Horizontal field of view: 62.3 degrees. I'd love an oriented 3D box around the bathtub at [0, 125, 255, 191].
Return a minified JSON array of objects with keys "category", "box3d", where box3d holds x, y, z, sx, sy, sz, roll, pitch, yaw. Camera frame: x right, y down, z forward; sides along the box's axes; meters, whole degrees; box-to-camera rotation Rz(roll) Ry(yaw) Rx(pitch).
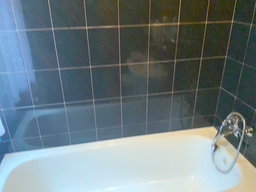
[{"category":"bathtub","box3d":[-0.010,0.770,1.510,1.680,0.630,0.750,-5,26,-10]}]
